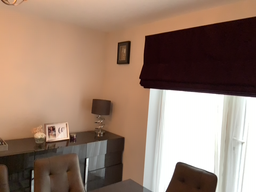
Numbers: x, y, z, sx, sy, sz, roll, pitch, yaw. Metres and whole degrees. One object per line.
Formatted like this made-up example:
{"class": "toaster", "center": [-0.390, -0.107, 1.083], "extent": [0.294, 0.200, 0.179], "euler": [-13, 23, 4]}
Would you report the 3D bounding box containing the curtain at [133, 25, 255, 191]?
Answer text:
{"class": "curtain", "center": [0.850, 0.390, 1.980], "extent": [0.200, 1.960, 1.940], "euler": [1, 5, -41]}
